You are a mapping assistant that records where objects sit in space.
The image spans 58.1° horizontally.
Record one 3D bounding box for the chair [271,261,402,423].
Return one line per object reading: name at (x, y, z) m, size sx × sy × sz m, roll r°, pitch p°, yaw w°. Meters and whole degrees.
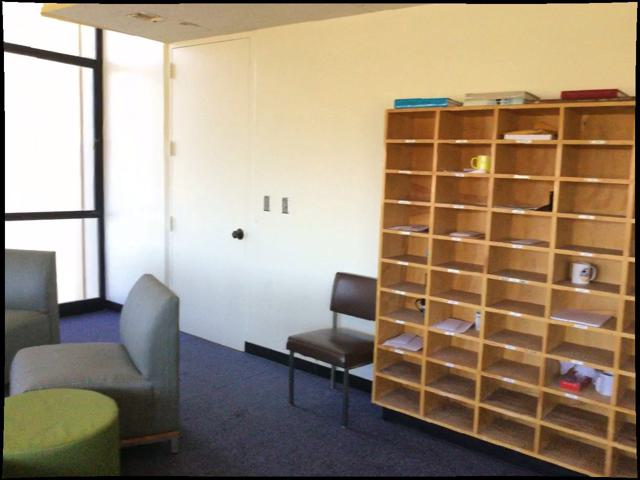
chair at (0.100, 0.582, 3.560) m, size 0.559 × 0.772 × 0.569 m, roll 8°, pitch 11°, yaw 39°
